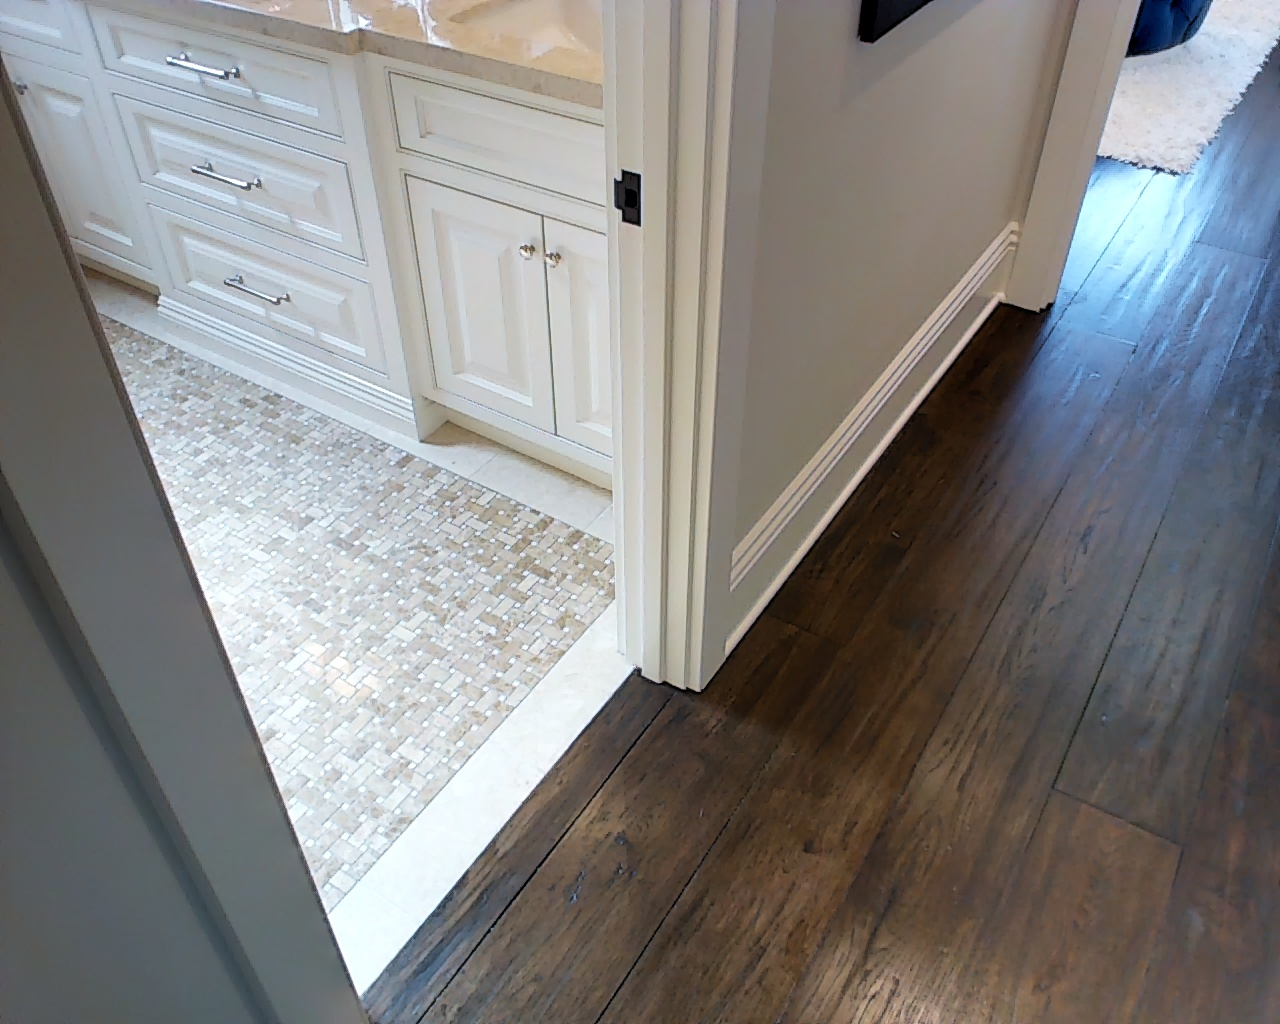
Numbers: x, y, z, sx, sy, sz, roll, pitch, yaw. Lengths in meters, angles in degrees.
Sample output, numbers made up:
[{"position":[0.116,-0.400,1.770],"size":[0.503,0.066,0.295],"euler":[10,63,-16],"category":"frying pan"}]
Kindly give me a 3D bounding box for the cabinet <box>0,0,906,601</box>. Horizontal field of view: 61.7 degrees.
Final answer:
[{"position":[-0.690,-0.780,2.500],"size":[2.370,0.970,0.620],"euler":[23,46,25],"category":"cabinet"}]
